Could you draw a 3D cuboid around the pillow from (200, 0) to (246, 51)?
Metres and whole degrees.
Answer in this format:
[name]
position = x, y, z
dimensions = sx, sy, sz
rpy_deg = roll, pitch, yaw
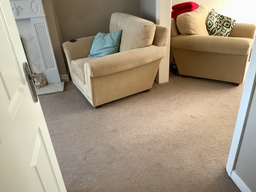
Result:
[pillow]
position = 1.400, -1.100, 3.150
dimensions = 0.280, 0.400, 0.700
rpy_deg = 28, 74, 5
